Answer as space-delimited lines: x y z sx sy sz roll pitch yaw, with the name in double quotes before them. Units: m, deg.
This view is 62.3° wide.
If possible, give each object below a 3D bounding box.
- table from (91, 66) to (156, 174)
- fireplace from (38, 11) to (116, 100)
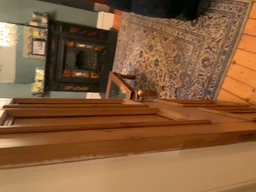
"table" -0.140 0.340 3.150 0.770 0.410 1.350 50 131 53
"fireplace" -1.060 -0.750 4.160 0.780 1.200 1.430 46 129 54
